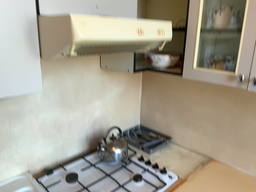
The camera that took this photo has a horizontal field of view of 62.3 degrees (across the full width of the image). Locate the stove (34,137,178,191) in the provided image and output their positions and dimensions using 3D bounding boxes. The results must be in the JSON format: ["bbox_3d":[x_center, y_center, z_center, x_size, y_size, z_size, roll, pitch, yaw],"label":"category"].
[{"bbox_3d":[-0.110,0.430,1.170,0.520,0.040,0.590,17,23,41],"label":"stove"}]
